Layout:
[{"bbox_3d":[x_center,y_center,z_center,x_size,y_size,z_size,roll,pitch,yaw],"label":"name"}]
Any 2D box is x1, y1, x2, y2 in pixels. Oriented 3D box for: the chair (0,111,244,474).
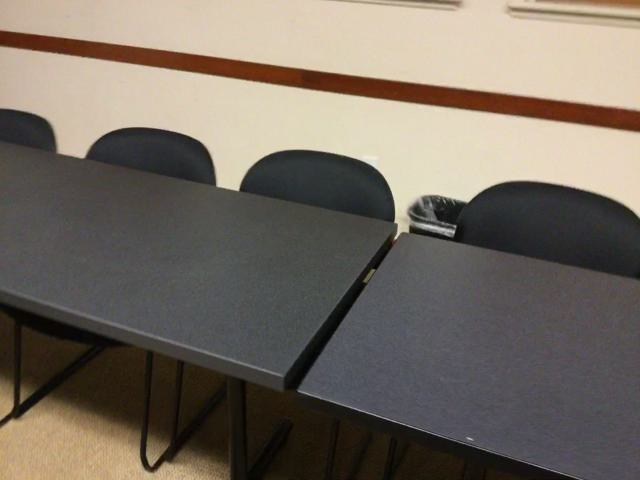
[{"bbox_3d":[-0.590,0.100,1.670,0.520,0.790,0.540,13,25,20],"label":"chair"}]
